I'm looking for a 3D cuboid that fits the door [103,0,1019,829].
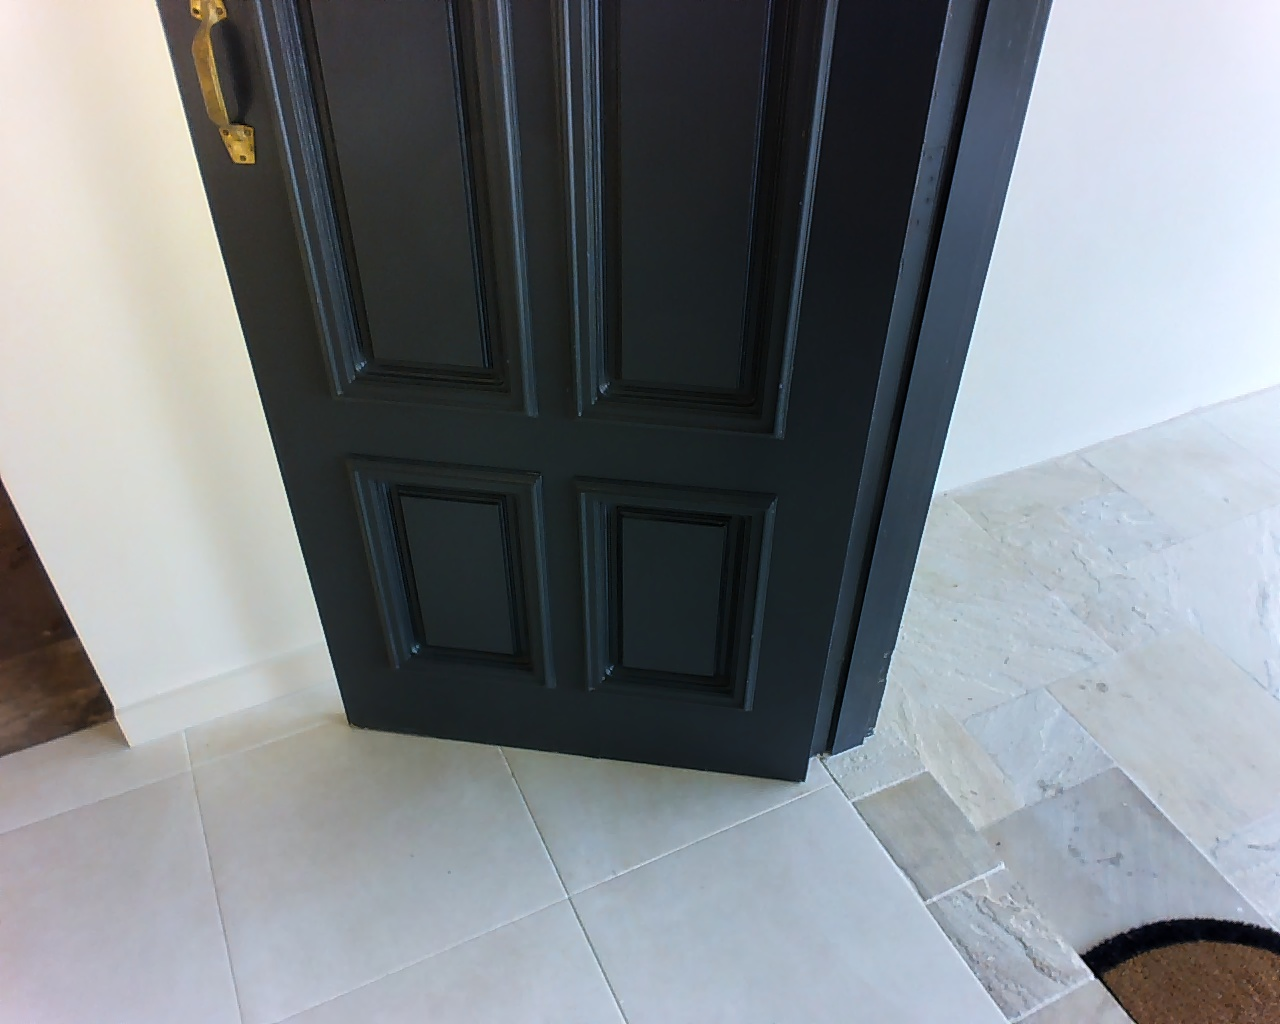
[{"bbox_3d":[-0.090,-0.360,1.230,0.880,2.080,0.180,6,41,6],"label":"door"}]
